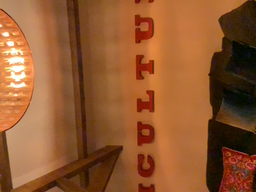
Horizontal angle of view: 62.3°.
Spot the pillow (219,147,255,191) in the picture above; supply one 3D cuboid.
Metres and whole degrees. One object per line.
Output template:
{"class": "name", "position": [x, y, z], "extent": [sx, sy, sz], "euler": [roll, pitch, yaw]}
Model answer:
{"class": "pillow", "position": [1.230, 0.930, 2.360], "extent": [0.210, 0.350, 0.620], "euler": [-165, 73, -64]}

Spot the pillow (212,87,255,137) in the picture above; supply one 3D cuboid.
{"class": "pillow", "position": [1.170, 0.160, 2.300], "extent": [0.270, 0.400, 0.390], "euler": [28, 128, 61]}
